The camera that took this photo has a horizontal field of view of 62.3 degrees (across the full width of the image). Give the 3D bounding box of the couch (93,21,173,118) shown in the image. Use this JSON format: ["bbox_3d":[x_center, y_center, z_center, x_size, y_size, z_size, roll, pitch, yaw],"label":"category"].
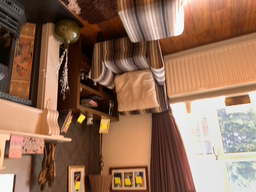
[{"bbox_3d":[0.090,-0.240,2.620,0.720,0.820,0.840,-8,162,17],"label":"couch"}]
